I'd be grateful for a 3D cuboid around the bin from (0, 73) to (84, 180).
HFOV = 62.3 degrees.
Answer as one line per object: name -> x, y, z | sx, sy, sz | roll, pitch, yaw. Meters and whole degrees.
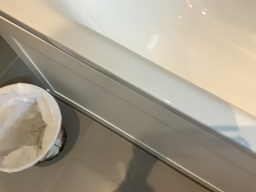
bin -> -0.330, 0.120, 0.730 | 0.220, 0.260, 0.230 | 31, 70, 10
